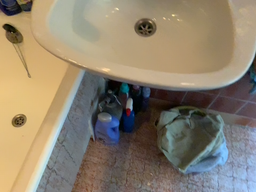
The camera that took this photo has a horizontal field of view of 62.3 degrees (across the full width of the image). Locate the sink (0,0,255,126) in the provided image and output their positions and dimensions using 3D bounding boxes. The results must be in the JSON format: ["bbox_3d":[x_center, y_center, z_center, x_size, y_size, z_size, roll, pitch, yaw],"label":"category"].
[{"bbox_3d":[0.030,-0.210,0.530,0.550,0.240,0.400,11,58,3],"label":"sink"}]
